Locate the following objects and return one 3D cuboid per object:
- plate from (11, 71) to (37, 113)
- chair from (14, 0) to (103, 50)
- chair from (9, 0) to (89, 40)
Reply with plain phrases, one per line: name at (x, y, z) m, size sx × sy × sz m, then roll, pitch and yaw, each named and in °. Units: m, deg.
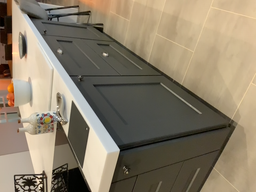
plate at (-0.990, -0.040, 2.000) m, size 0.290 × 0.170 × 0.260 m, roll 56°, pitch 137°, yaw 37°
chair at (-0.850, -0.870, 2.590) m, size 0.450 × 0.920 × 0.410 m, roll 50°, pitch 133°, yaw 42°
chair at (-1.080, -1.090, 2.910) m, size 0.450 × 0.920 × 0.410 m, roll 50°, pitch 133°, yaw 42°
